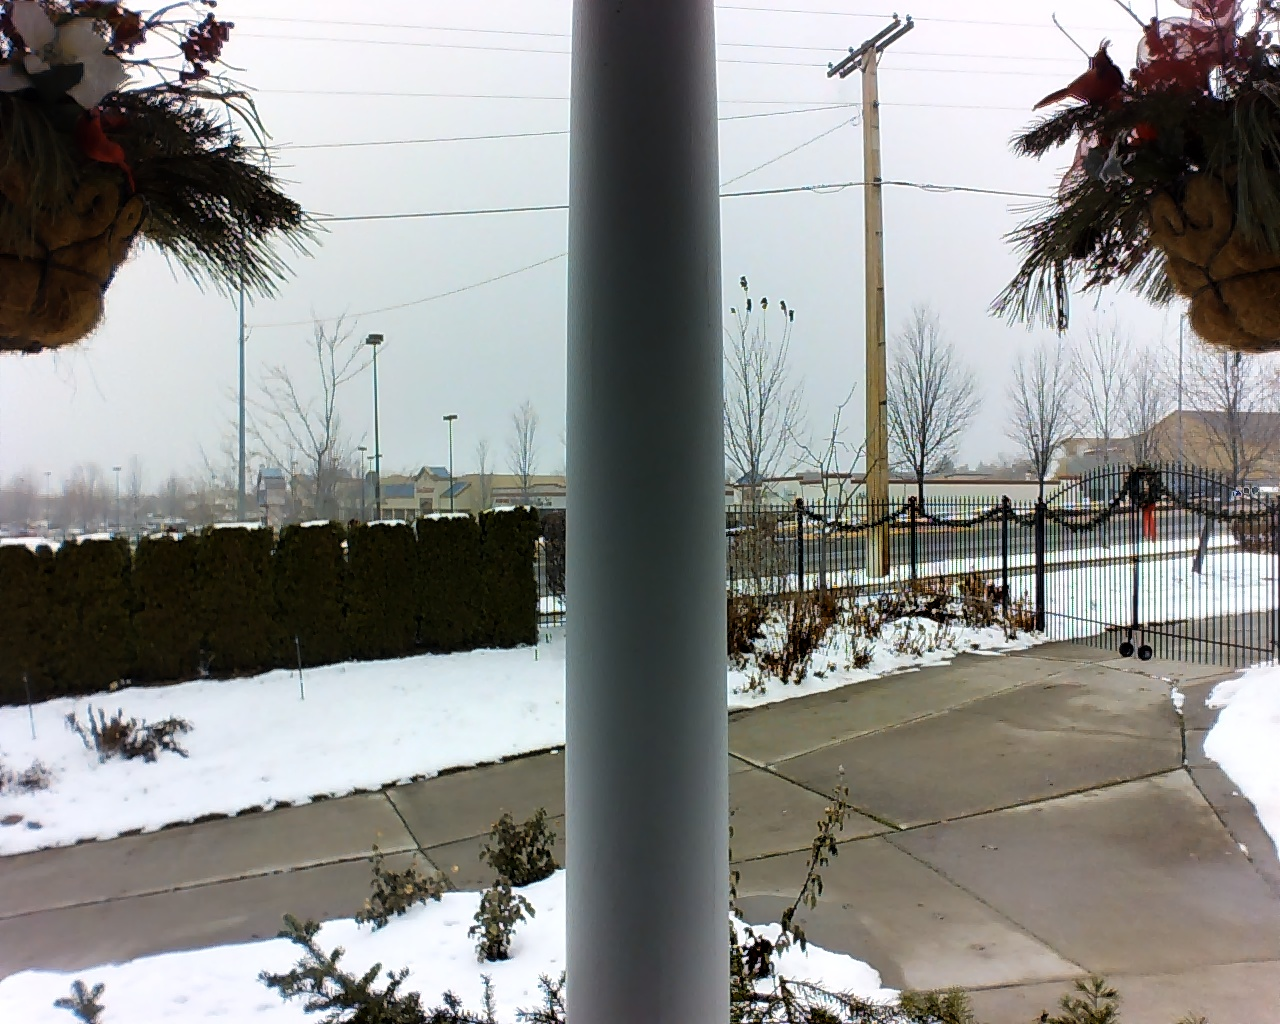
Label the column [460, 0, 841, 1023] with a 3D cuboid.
[{"bbox_3d":[0.000,-0.100,1.500,0.460,1.801,0.290,1,0,-13],"label":"column"}]
